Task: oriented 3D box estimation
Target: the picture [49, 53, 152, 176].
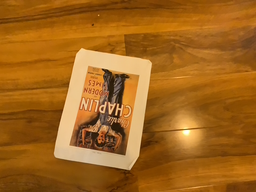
[{"bbox_3d":[-0.060,0.040,0.540,0.240,0.030,0.300,2,78,-1],"label":"picture"}]
